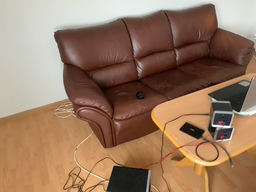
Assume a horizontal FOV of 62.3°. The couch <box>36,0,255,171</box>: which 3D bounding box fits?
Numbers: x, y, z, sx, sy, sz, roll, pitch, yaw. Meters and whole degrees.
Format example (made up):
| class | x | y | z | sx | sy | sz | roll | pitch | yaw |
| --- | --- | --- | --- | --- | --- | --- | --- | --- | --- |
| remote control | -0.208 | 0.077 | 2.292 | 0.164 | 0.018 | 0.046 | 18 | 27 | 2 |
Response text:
| class | x | y | z | sx | sy | sz | roll | pitch | yaw |
| --- | --- | --- | --- | --- | --- | --- | --- | --- | --- |
| couch | 0.320 | -0.320 | 2.280 | 2.090 | 0.960 | 0.970 | -20 | 38 | -23 |
